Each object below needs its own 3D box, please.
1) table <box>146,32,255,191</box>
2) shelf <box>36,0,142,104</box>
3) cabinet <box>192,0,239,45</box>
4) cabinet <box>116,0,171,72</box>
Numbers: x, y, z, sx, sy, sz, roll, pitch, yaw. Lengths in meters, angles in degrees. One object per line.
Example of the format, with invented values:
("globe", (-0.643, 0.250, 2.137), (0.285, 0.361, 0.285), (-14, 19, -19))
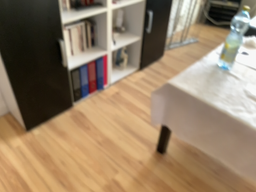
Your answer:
("table", (0.810, 0.150, 1.360), (0.930, 0.590, 0.950), (34, 48, 29))
("shelf", (-0.270, -0.560, 1.760), (0.280, 1.030, 0.790), (34, 48, 29))
("cabinet", (1.330, -1.310, 3.140), (0.460, 0.940, 0.330), (19, 42, 15))
("cabinet", (0.160, -0.810, 2.110), (0.300, 1.030, 0.420), (34, 48, 29))
